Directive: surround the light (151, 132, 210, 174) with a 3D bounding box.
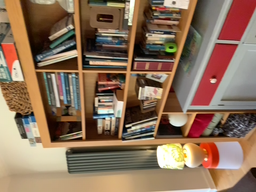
[{"bbox_3d":[0.570,0.640,2.410,0.330,0.520,0.310,-101,14,-47],"label":"light"}]
